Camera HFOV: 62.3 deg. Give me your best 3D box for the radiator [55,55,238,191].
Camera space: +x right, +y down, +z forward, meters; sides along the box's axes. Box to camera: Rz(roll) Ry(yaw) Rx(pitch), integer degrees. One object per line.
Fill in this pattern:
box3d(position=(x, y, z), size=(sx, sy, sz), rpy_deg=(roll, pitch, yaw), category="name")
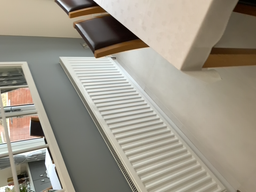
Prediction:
box3d(position=(-0.010, 0.110, 1.830), size=(1.760, 0.710, 0.120), rpy_deg=(49, 135, 39), category="radiator")
